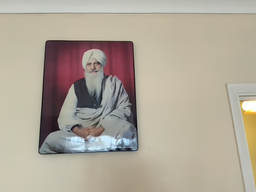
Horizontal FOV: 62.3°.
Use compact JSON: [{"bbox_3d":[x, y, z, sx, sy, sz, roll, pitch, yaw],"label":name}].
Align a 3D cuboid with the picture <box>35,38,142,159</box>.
[{"bbox_3d":[-0.160,-0.010,0.880,0.400,0.500,0.020,-2,-15,-5],"label":"picture"}]
